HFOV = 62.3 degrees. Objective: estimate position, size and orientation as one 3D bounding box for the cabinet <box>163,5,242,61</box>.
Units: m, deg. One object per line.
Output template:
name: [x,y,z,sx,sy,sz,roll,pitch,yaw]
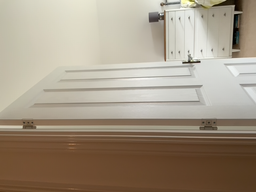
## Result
cabinet: [1.140,-1.000,3.450,0.450,1.120,0.760,-62,-30,-72]
